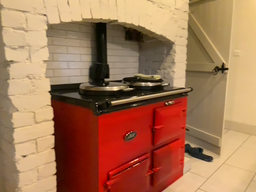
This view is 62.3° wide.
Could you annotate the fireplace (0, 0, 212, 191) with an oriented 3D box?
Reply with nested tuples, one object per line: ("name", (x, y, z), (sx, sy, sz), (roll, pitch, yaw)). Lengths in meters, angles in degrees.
("fireplace", (-0.140, -0.040, 1.810), (0.930, 1.550, 1.740), (9, 13, 41))

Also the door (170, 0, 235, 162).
("door", (0.820, -0.330, 2.530), (0.090, 2.000, 0.830), (-4, 11, -24))
